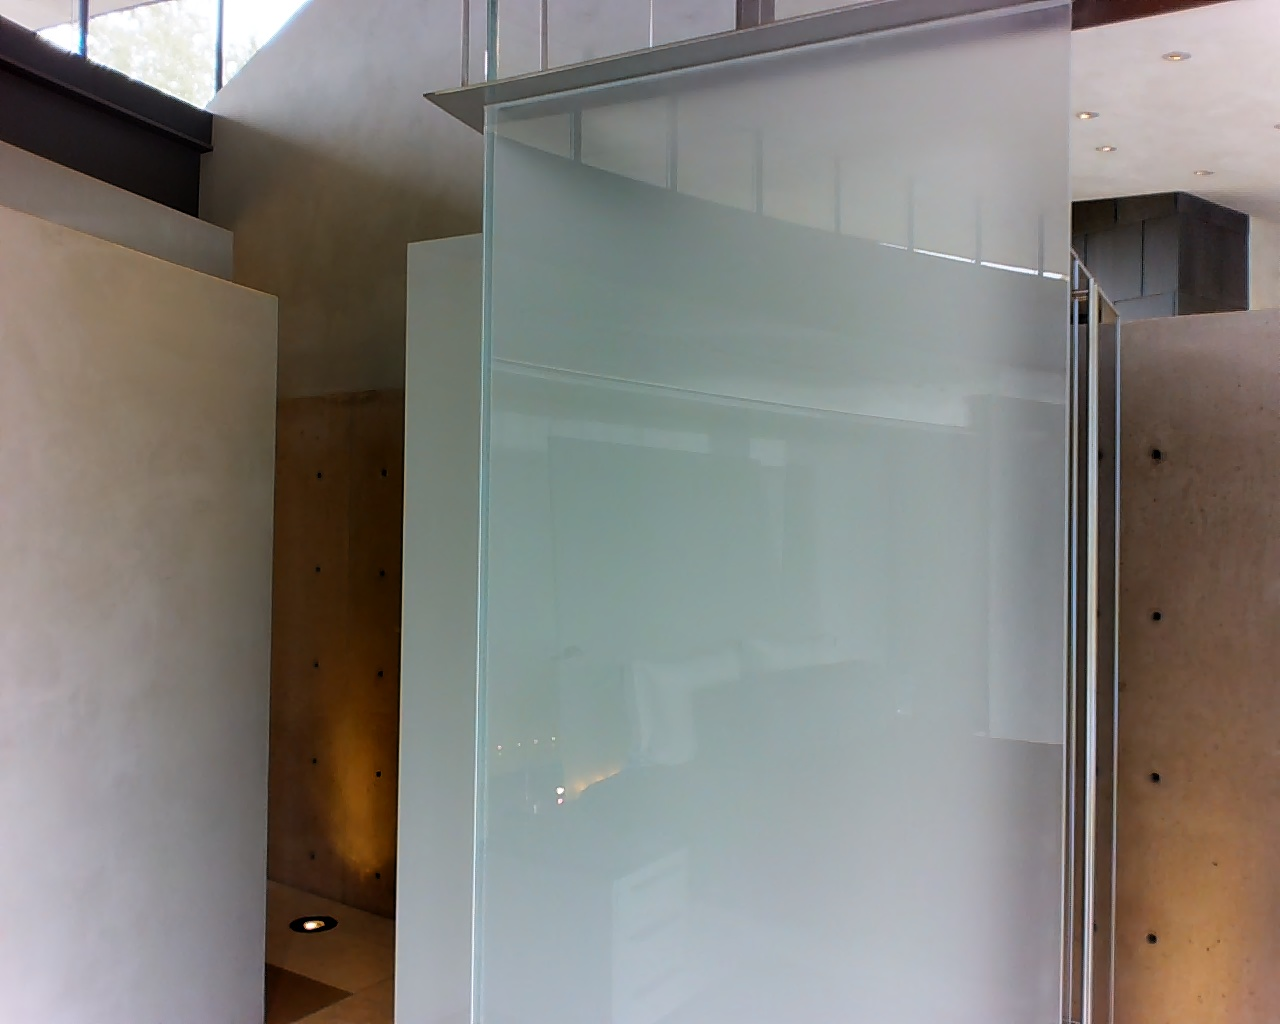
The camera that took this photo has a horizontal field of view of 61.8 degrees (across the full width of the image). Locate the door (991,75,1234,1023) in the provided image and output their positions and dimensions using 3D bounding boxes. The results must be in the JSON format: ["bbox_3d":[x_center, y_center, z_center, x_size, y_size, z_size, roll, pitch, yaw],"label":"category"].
[{"bbox_3d":[0.980,0.550,2.070,0.150,2.221,1.480,-3,-6,33],"label":"door"}]
